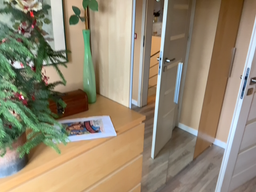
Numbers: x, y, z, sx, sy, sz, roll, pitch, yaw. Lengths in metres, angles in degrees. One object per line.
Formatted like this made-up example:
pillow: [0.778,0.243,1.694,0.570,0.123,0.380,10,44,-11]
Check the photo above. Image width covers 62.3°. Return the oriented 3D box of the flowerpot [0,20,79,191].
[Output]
flowerpot: [-0.410,0.030,0.690,0.300,0.500,0.400,-17,29,-38]
